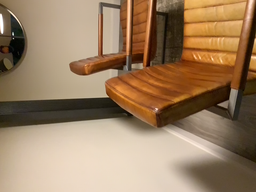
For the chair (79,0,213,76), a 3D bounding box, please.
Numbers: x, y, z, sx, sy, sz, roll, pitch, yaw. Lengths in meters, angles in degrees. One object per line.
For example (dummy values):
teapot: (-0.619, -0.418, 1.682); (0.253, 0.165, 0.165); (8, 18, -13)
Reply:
chair: (0.100, -0.450, 1.550); (0.530, 0.790, 0.560); (22, 111, 61)
